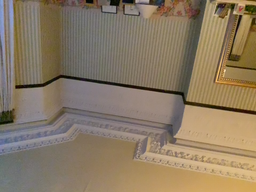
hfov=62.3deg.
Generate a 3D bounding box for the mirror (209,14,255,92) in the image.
[{"bbox_3d":[2.060,-0.540,3.010,1.510,1.020,0.090,9,-160,6],"label":"mirror"}]
